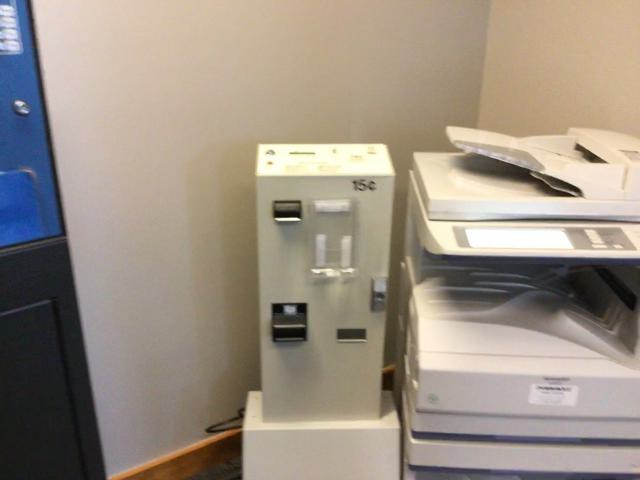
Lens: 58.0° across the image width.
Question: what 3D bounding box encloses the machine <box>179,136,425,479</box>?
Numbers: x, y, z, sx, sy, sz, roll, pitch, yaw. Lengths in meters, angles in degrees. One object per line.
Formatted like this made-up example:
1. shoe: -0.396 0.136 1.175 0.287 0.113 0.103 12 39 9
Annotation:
1. machine: 0.000 0.310 1.460 0.450 1.060 0.500 1 20 6

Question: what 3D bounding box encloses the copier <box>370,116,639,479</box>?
1. copier: 0.530 0.280 1.470 0.730 1.070 0.770 2 20 10
